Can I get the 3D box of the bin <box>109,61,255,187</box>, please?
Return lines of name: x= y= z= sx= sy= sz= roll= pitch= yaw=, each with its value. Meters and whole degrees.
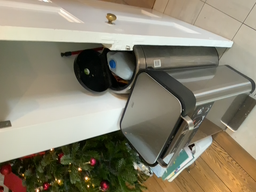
bin: x=0.320 y=0.090 z=1.120 sx=0.350 sy=0.670 sz=0.410 roll=48 pitch=131 yaw=35
